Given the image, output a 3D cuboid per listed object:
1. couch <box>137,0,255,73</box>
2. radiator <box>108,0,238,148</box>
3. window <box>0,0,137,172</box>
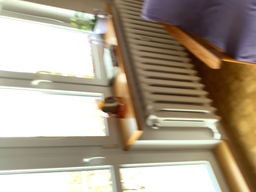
[{"bbox_3d":[0.620,-0.680,1.400,0.780,0.750,0.730,-116,36,-52],"label":"couch"},{"bbox_3d":[0.280,-0.380,2.010,0.240,0.680,1.740,118,148,-46],"label":"radiator"},{"bbox_3d":[-0.610,-0.240,1.650,0.200,1.050,1.560,118,148,-46],"label":"window"}]
